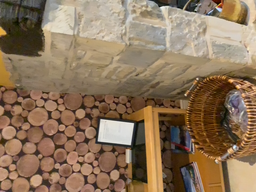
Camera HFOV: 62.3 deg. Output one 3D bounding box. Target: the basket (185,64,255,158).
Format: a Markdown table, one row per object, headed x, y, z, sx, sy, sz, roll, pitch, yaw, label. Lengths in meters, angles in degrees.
| x | y | z | sx | sy | sz | roll | pitch | yaw | label |
| --- | --- | --- | --- | --- | --- | --- | --- | --- | --- |
| 0.760 | 0.150 | 1.530 | 0.560 | 0.350 | 0.550 | 148 | 123 | -63 | basket |
